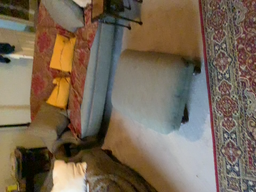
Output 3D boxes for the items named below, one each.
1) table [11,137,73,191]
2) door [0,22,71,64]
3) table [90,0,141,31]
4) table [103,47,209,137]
[{"bbox_3d":[-1.370,1.560,3.390,0.580,0.780,1.660,-8,83,50],"label":"table"},{"bbox_3d":[-2.000,-0.890,3.160,0.940,2.090,0.100,52,127,37],"label":"door"},{"bbox_3d":[-0.120,-0.880,2.140,0.240,0.470,0.290,-3,87,50],"label":"table"},{"bbox_3d":[0.180,-0.080,1.790,0.750,0.370,0.550,22,106,49],"label":"table"}]
